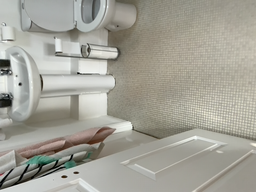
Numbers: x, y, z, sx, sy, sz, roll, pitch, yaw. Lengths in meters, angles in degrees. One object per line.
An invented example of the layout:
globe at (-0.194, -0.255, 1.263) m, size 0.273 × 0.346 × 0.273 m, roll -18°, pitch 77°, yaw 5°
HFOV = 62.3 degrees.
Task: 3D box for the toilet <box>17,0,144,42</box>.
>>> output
toilet at (-0.380, -0.700, 1.720) m, size 0.660 × 0.770 × 0.370 m, roll 7°, pitch 98°, yaw 46°

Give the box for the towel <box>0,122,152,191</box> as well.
towel at (-0.510, 0.280, 0.880) m, size 0.460 × 1.340 × 0.100 m, roll 1°, pitch 94°, yaw 46°
